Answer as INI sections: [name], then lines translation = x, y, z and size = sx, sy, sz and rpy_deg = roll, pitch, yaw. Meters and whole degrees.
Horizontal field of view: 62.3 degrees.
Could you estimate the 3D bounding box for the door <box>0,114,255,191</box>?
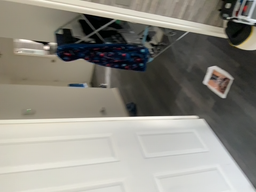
[door]
translation = -0.070, 0.480, 1.380
size = 0.960, 2.030, 0.050
rpy_deg = -115, 35, -45
